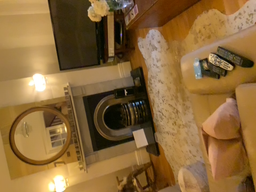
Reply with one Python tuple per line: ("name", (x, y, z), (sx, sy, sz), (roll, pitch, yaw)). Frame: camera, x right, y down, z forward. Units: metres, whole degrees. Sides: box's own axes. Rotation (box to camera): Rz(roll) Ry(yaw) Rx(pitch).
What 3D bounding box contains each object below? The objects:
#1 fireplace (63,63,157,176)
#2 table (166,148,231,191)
("fireplace", (-0.330, 0.340, 3.670), (0.710, 1.200, 1.540), (174, 85, -69))
("table", (0.750, 0.900, 2.280), (0.460, 0.410, 0.500), (170, 89, -69))
